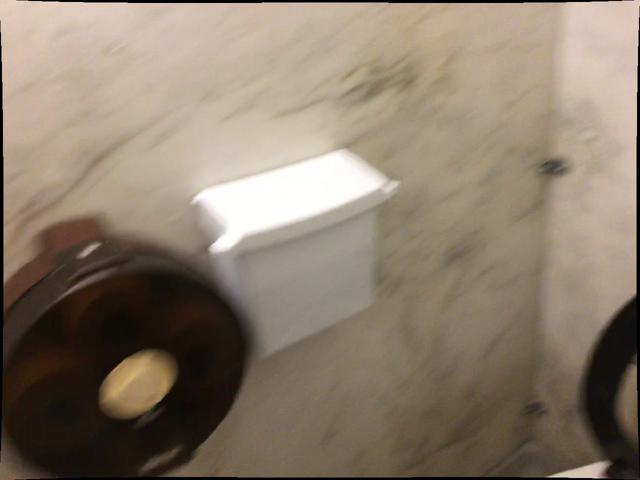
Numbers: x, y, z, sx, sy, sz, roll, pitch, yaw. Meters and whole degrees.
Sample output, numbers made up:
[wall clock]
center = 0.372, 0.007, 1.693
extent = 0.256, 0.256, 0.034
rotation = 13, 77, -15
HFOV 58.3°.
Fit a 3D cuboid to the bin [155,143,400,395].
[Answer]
[bin]
center = -0.050, 0.030, 0.940
extent = 0.350, 0.280, 0.140
rotation = -21, 29, -30
